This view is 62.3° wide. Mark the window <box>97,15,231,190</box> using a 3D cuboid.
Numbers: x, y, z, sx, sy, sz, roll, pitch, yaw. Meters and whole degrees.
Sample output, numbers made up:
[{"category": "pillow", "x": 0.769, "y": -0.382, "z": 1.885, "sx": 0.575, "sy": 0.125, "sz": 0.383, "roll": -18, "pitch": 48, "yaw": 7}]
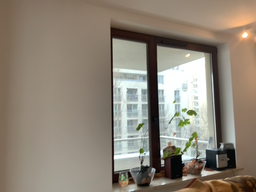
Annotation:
[{"category": "window", "x": 0.550, "y": 0.070, "z": 2.670, "sx": 1.890, "sy": 1.720, "sz": 0.250, "roll": 2, "pitch": -6, "yaw": -30}]
